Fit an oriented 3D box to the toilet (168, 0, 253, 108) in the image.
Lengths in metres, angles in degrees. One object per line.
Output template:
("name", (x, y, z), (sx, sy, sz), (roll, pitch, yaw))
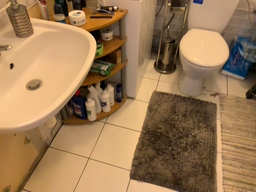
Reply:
("toilet", (0.610, -0.410, 1.690), (0.360, 0.710, 0.640), (13, 48, 10))
